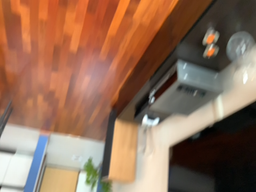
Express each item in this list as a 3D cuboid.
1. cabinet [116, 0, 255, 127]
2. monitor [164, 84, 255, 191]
[{"bbox_3d":[0.420,-0.280,1.800,0.530,0.430,1.700,14,148,-15],"label":"cabinet"},{"bbox_3d":[0.540,0.480,1.430,0.060,0.670,1.140,14,146,-14],"label":"monitor"}]
